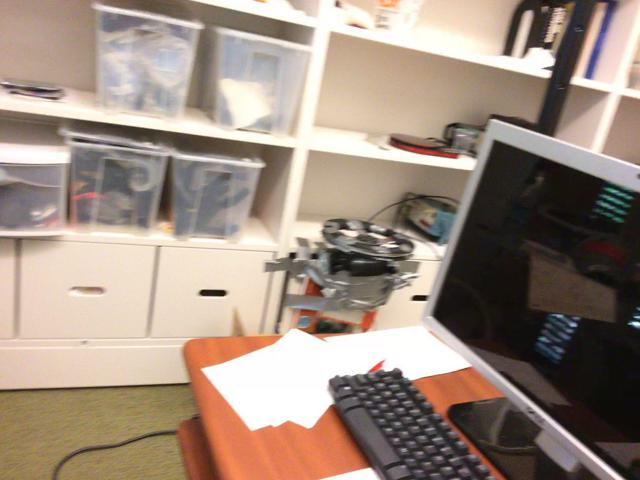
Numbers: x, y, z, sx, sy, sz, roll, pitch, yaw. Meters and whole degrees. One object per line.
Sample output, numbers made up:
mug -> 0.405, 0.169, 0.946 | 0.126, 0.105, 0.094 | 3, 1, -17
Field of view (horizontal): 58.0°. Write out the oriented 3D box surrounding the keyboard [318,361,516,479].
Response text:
keyboard -> 0.150, 0.280, 0.700 | 0.140, 0.020, 0.440 | -1, 21, -25

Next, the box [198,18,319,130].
box -> -0.210, -0.530, 1.830 | 0.280, 0.280, 0.340 | 0, 21, -21

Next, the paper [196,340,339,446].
paper -> -0.080, 0.210, 0.830 | 0.110, 0.020, 0.200 | -8, 25, -39

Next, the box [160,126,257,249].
box -> -0.380, -0.180, 1.900 | 0.240, 0.310, 0.350 | 0, 21, -21

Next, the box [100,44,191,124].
box -> -0.530, -0.470, 1.720 | 0.230, 0.170, 0.360 | 0, 21, -21

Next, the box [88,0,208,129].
box -> -0.520, -0.520, 1.700 | 0.300, 0.300, 0.340 | 0, 21, -21

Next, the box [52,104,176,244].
box -> -0.640, -0.210, 1.790 | 0.320, 0.340, 0.350 | 0, 21, -21
